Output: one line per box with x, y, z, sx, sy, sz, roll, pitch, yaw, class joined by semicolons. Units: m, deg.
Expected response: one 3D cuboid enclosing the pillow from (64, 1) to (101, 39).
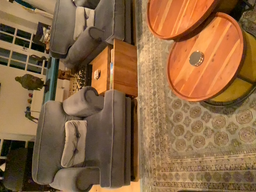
-0.650;-1.100;3.060;0.120;0.340;0.420;-27;29;50;pillow

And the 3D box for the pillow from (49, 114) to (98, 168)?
-0.640;0.530;2.550;0.090;0.330;0.540;-27;28;50;pillow

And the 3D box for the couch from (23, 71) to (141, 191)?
-0.560;0.520;2.530;1.120;0.910;1.120;-24;60;51;couch

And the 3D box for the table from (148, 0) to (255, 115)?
0.580;-0.630;1.710;0.730;0.390;1.360;-32;54;47;table

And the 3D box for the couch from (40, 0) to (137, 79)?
-0.580;-1.100;3.110;1.110;0.920;1.240;-24;60;51;couch

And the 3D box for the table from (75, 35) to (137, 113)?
-0.340;-0.240;2.970;1.040;0.360;0.720;-24;60;51;table
